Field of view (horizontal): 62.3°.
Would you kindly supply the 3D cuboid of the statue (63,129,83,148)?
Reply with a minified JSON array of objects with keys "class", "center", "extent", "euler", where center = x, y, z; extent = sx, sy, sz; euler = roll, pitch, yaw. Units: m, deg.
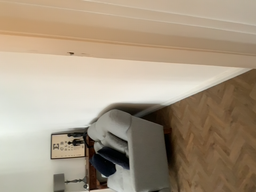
[{"class":"statue","center":[-1.200,0.920,4.590],"extent":[0.280,0.400,0.360],"euler":[149,120,-67]}]
